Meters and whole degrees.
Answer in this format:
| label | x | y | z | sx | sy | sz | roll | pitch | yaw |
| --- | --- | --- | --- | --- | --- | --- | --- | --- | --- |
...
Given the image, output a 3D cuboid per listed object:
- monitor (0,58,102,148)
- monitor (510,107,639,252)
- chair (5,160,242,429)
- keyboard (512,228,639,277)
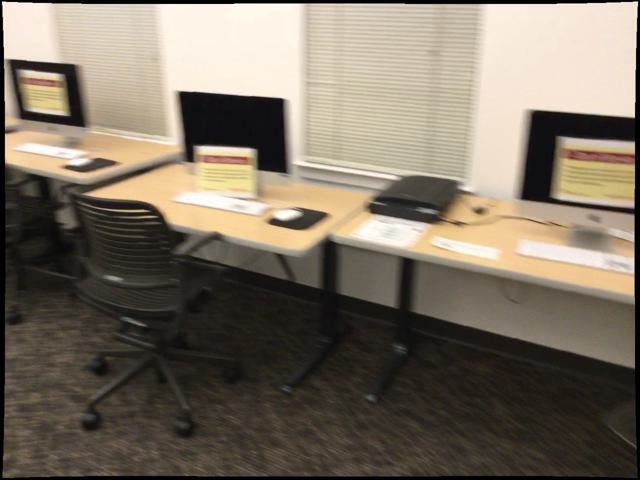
| label | x | y | z | sx | sy | sz | roll | pitch | yaw |
| --- | --- | --- | --- | --- | --- | --- | --- | --- | --- |
| monitor | -1.469 | -0.731 | 3.040 | 0.540 | 0.380 | 0.260 | 12 | 25 | 24 |
| monitor | 0.989 | -0.220 | 2.030 | 0.520 | 0.400 | 0.270 | 12 | 25 | 24 |
| chair | -0.689 | 0.180 | 2.270 | 0.609 | 0.821 | 0.590 | 4 | 23 | 6 |
| keyboard | 0.869 | 0.040 | 1.900 | 0.430 | 0.030 | 0.160 | 12 | 25 | 24 |
